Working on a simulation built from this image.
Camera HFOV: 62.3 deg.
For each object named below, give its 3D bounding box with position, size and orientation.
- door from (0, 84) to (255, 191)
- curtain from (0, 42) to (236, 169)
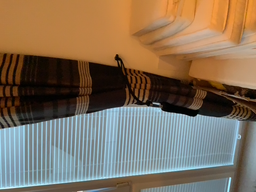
[{"bbox_3d":[-0.100,0.790,1.340,0.060,2.170,1.670,-153,67,-68],"label":"door"},{"bbox_3d":[-0.380,0.020,0.830,0.310,1.720,0.400,-161,74,-69],"label":"curtain"}]
